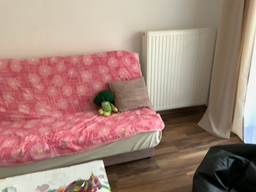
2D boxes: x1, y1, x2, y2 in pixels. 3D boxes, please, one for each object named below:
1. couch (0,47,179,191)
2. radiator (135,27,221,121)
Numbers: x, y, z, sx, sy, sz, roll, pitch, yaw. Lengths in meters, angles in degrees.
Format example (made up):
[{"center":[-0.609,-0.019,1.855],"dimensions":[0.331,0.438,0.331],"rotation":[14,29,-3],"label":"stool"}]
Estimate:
[{"center":[-0.770,0.150,1.800],"dimensions":[2.060,0.880,0.970],"rotation":[-7,23,-15],"label":"couch"},{"center":[0.550,-0.260,2.490],"dimensions":[0.890,1.010,0.240],"rotation":[-6,22,-13],"label":"radiator"}]
